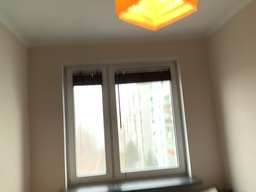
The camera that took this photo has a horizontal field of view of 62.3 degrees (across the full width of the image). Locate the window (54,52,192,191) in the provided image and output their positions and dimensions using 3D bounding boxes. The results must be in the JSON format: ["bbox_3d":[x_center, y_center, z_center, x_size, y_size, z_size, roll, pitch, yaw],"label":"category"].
[{"bbox_3d":[-0.070,0.300,2.640,1.570,1.650,0.140,-3,-6,-5],"label":"window"}]
